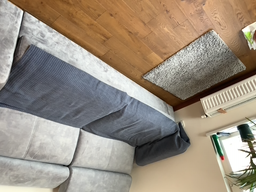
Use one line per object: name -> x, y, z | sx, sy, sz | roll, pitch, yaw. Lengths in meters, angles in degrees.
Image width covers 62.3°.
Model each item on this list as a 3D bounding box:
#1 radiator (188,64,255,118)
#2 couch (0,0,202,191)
radiator -> 1.400, -0.200, 2.140 | 1.580, 0.290, 0.120 | -27, 143, 28
couch -> -0.400, 0.330, 2.030 | 1.090, 0.990, 2.290 | -28, 143, 30
